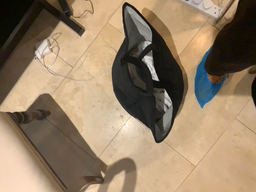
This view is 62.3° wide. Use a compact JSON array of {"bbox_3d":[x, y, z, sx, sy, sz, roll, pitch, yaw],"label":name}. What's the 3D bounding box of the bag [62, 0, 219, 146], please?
[{"bbox_3d":[0.050,-0.110,0.880,0.320,0.420,0.440,-30,86,4],"label":"bag"}]
